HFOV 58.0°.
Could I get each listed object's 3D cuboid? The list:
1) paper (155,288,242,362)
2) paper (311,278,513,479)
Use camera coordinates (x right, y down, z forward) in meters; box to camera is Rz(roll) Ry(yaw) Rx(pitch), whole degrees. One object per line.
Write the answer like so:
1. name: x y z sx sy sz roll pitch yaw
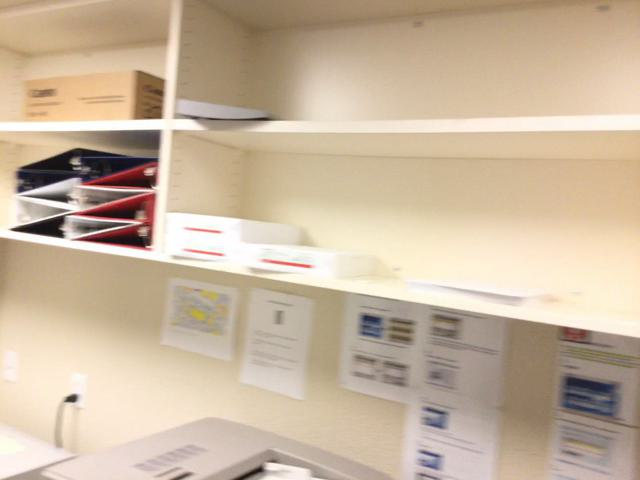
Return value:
1. paper: -0.370 0.250 1.740 0.290 0.180 0.030 5 -5 31
2. paper: 0.210 0.370 1.400 0.440 0.510 0.050 5 -5 31
